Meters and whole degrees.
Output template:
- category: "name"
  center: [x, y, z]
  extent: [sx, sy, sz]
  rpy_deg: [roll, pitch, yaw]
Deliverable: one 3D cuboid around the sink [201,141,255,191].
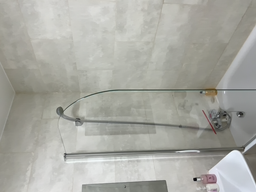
- category: "sink"
  center: [0.740, 0.640, 1.330]
  extent: [0.420, 0.250, 0.570]
  rpy_deg: [99, 168, -51]
